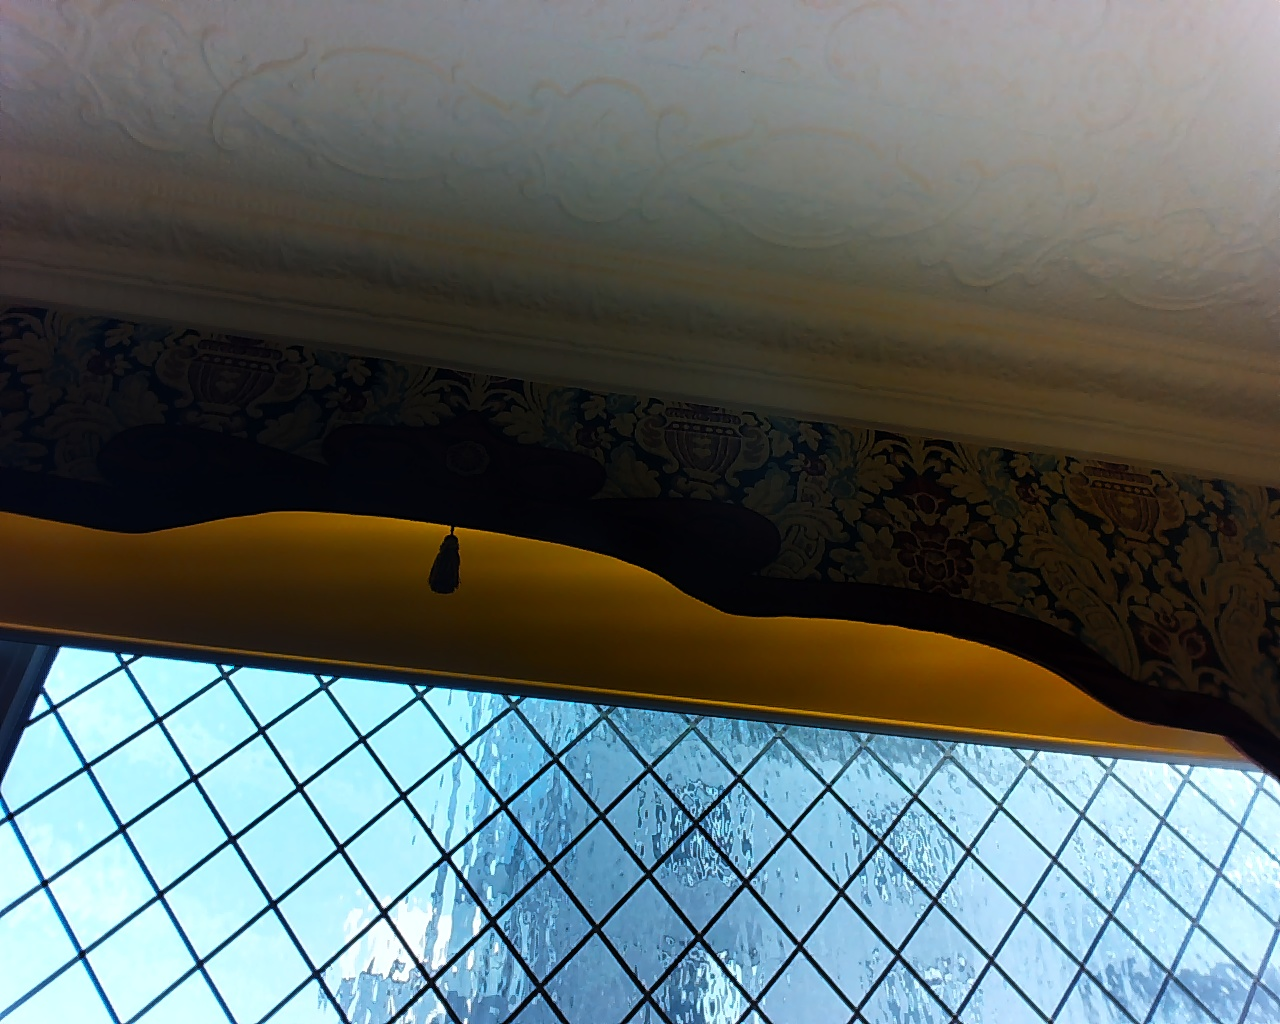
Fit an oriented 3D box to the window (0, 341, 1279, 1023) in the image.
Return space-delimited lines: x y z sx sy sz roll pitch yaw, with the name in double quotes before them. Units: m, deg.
"window" -0.270 0.370 1.200 2.899 1.200 0.230 7 -42 -6
